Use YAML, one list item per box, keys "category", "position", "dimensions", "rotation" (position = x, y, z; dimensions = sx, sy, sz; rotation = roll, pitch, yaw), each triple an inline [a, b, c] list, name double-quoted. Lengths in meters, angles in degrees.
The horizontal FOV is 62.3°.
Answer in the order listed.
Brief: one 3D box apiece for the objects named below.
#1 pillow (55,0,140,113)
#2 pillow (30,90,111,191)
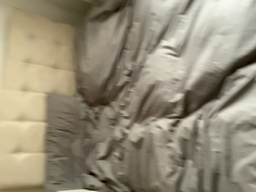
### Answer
- category: "pillow"
  position: [-0.170, -0.280, 1.560]
  dimensions: [0.220, 0.390, 0.700]
  rotation: [6, 132, 31]
- category: "pillow"
  position: [-0.410, 0.330, 1.550]
  dimensions: [0.140, 0.360, 0.680]
  rotation: [-23, 85, 47]
